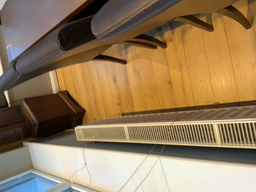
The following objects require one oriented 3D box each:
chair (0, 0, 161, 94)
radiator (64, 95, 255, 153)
[{"bbox_3d":[-0.300,-0.390,1.310,0.370,0.950,0.540,-21,84,45],"label":"chair"},{"bbox_3d":[0.270,0.140,1.140,1.730,0.420,0.140,-11,92,45],"label":"radiator"}]
